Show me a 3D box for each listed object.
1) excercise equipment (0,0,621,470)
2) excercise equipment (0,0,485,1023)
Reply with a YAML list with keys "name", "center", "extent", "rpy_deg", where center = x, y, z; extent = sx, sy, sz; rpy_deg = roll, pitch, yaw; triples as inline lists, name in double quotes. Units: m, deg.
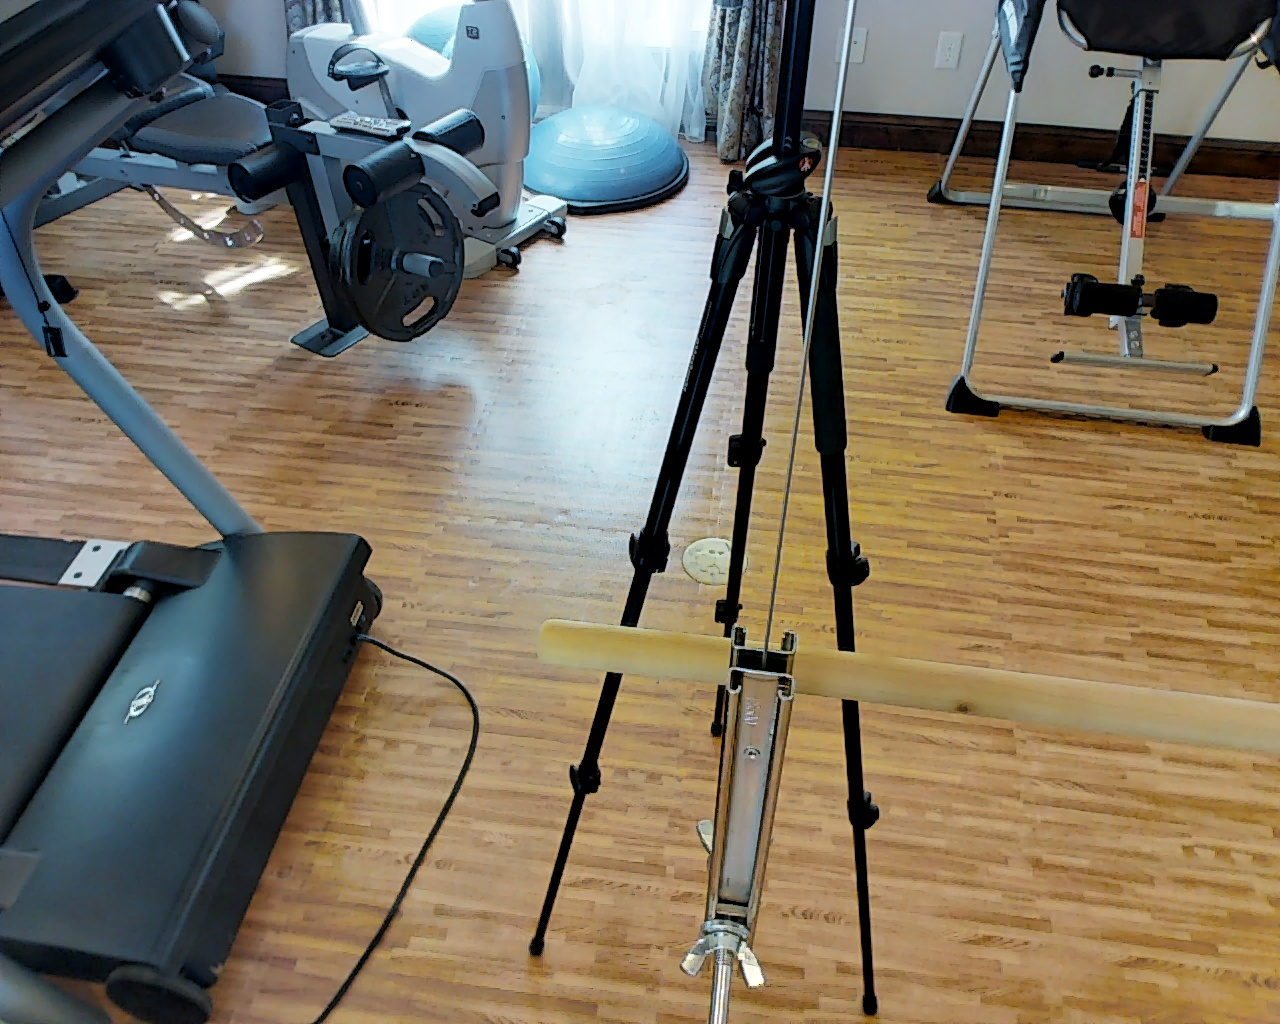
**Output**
- name: "excercise equipment"
  center: [-1.040, -0.840, 2.900]
  extent: [1.990, 0.650, 0.540]
  rpy_deg: [22, 46, 23]
- name: "excercise equipment"
  center: [-1.390, -0.150, 1.490]
  extent: [1.940, 1.530, 1.220]
  rpy_deg: [6, 42, 7]
